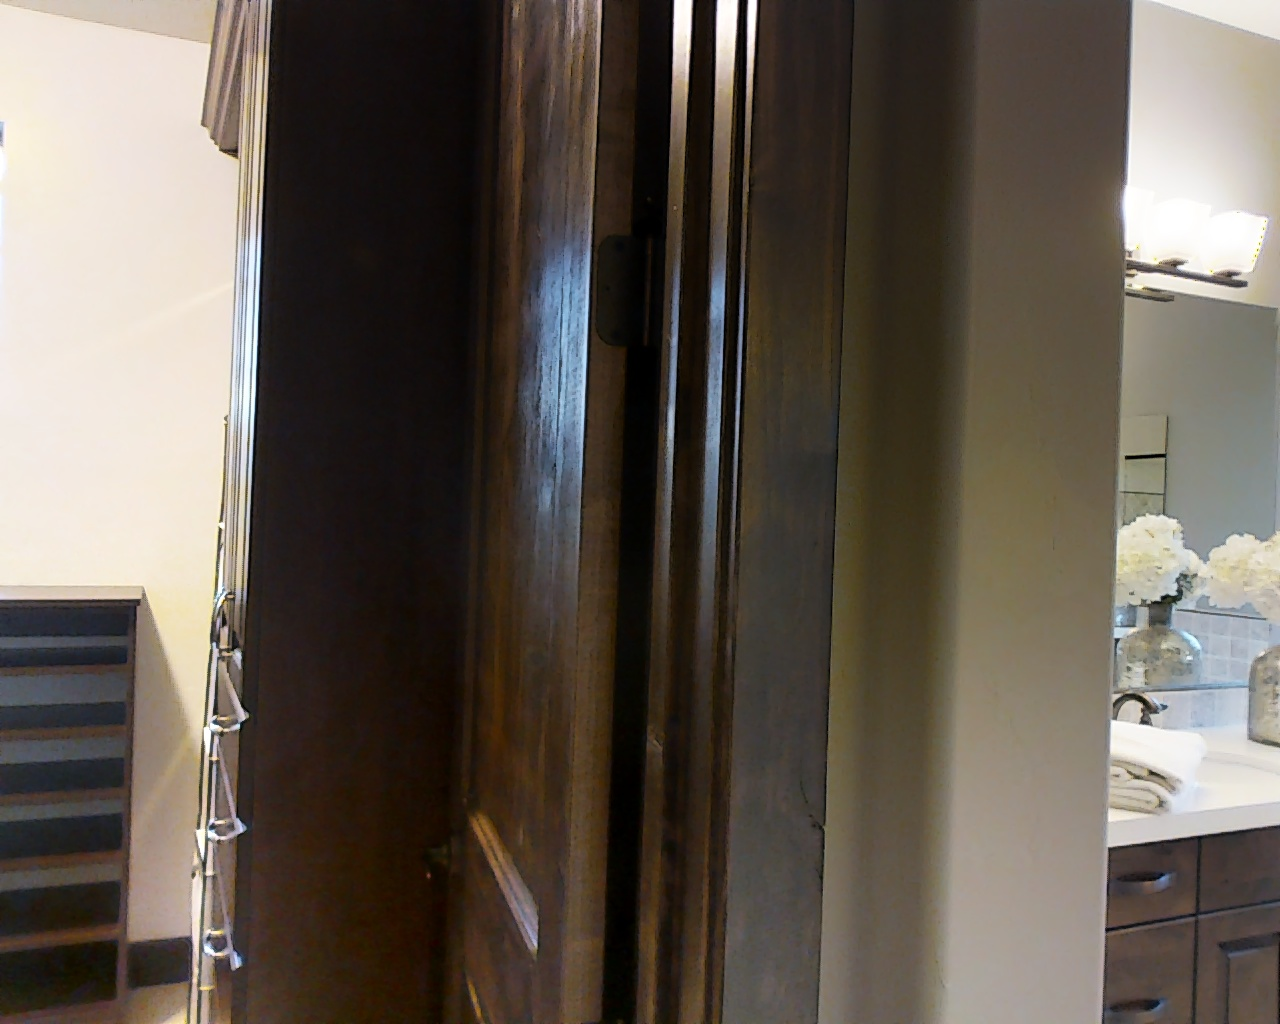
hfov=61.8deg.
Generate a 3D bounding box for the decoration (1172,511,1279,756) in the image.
[{"bbox_3d":[1.580,0.280,2.600,0.400,0.550,0.320,2,-1,-24],"label":"decoration"}]

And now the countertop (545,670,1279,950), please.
[{"bbox_3d":[0.880,0.510,2.150,2.050,0.250,0.570,2,-1,-24],"label":"countertop"}]
